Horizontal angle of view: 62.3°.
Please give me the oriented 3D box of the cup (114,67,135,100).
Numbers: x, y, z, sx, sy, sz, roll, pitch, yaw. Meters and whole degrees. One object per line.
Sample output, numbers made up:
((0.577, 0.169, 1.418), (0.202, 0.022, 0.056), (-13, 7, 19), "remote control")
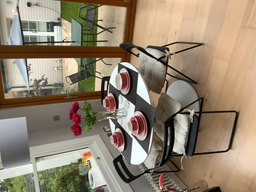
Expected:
((-0.040, -0.130, 2.080), (0.250, 0.080, 0.250), (41, 131, 54), "cup")

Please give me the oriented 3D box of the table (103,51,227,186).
((0.280, 0.140, 2.380), (1.030, 0.740, 1.030), (44, 133, 52), "table")

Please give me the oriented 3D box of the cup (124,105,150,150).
((0.070, 0.270, 1.880), (0.280, 0.080, 0.280), (41, 131, 54), "cup")

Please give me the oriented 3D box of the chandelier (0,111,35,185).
((-1.220, 0.430, 1.600), (0.340, 0.900, 0.450), (26, 118, 59), "chandelier")
